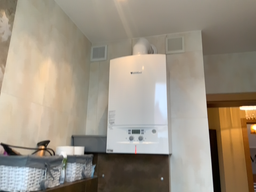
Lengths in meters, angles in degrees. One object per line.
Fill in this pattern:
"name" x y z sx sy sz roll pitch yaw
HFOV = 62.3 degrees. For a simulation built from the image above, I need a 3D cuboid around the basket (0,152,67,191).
"basket" -0.500 0.390 1.080 0.200 0.200 0.340 -2 -15 14
